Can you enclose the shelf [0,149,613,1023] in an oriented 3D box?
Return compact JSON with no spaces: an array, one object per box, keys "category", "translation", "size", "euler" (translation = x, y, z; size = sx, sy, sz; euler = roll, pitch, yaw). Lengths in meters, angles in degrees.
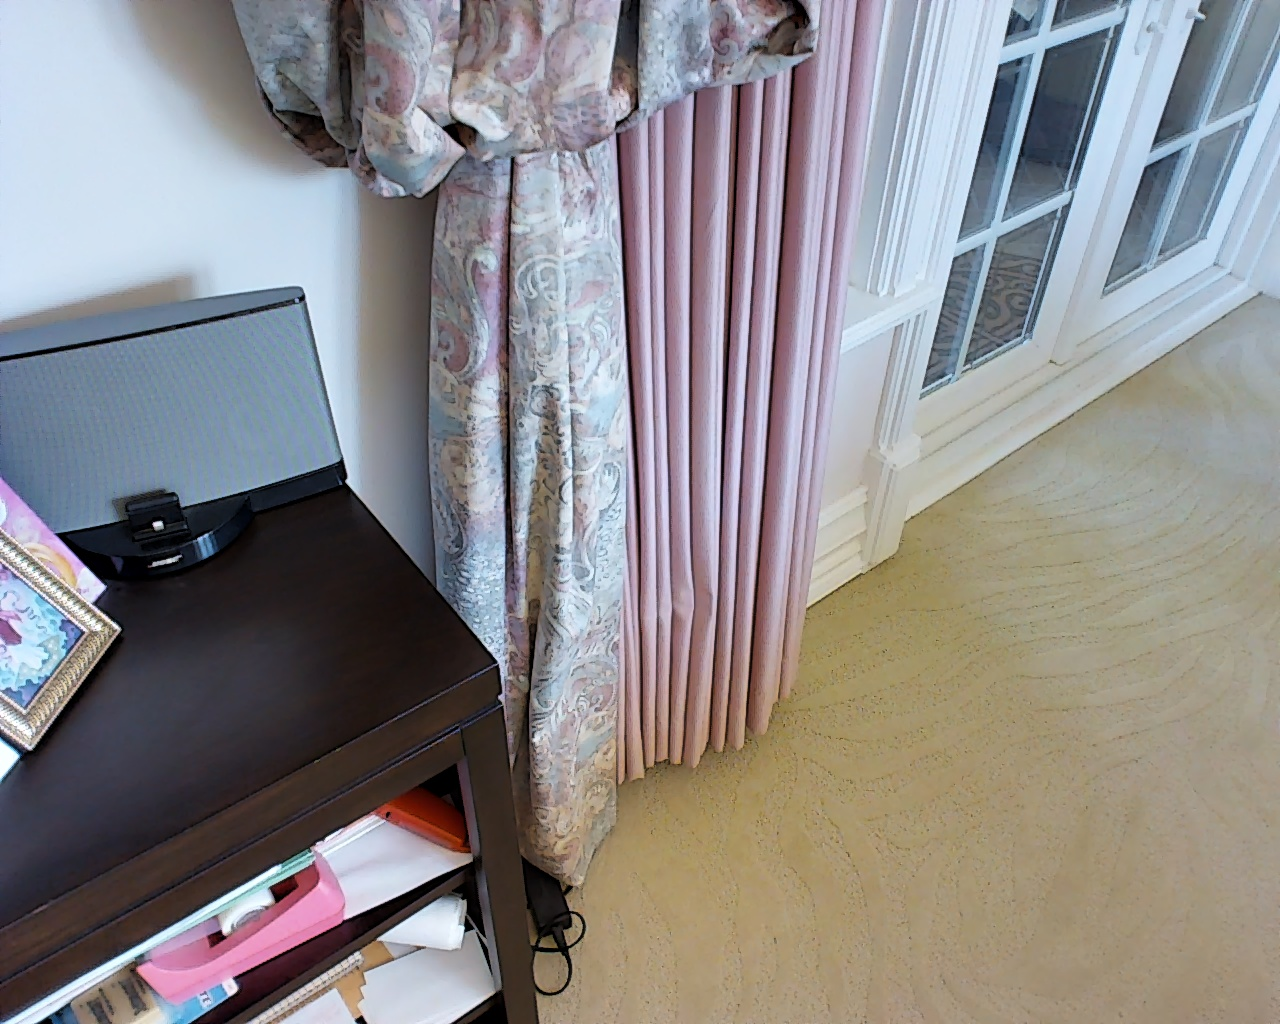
[{"category":"shelf","translation":[-0.400,0.330,0.960],"size":[0.660,1.060,0.370],"euler":[-28,49,-29]}]
